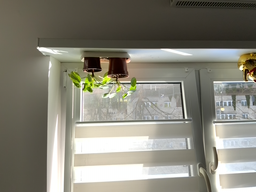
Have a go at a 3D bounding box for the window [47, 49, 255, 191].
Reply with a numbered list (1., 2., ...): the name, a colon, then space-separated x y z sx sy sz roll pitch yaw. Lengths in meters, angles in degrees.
1. window: 0.400 0.350 1.070 1.530 1.140 0.140 0 174 -5
